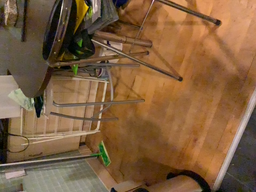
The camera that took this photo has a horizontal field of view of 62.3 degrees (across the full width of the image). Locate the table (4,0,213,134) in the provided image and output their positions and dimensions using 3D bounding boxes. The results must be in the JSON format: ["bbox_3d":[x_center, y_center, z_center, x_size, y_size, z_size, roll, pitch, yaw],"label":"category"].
[{"bbox_3d":[-0.220,-0.400,1.430,0.990,0.890,0.800,33,116,45],"label":"table"}]
